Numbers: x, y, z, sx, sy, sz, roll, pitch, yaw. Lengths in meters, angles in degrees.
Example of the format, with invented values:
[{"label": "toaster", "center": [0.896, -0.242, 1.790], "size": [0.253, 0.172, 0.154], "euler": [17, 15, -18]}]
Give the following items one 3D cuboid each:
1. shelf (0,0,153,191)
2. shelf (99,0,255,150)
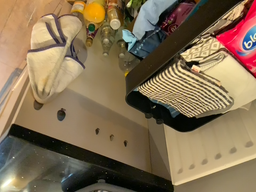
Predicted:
[{"label": "shelf", "center": [-0.200, -0.030, 1.050], "size": [0.610, 0.910, 0.190], "euler": [29, 131, -30]}, {"label": "shelf", "center": [0.240, -0.330, 0.810], "size": [0.400, 0.830, 0.540], "euler": [29, 131, -31]}]
